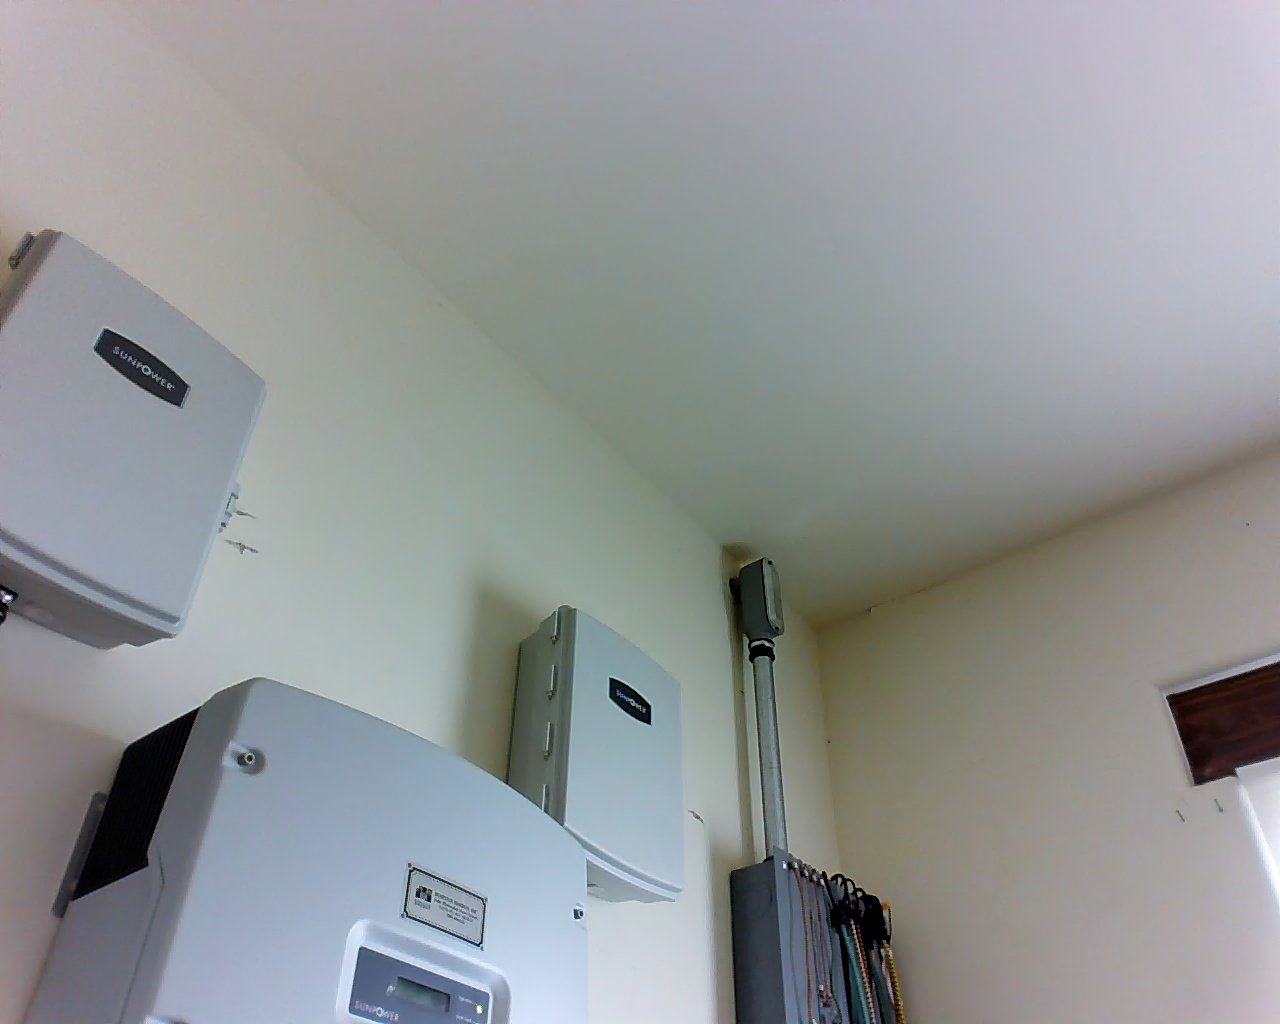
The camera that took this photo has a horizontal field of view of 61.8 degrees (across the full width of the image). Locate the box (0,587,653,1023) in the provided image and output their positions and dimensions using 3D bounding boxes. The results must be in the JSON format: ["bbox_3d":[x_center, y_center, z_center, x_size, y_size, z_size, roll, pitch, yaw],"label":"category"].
[{"bbox_3d":[-0.240,0.490,0.890,0.240,0.650,0.510,-27,-49,27],"label":"box"}]

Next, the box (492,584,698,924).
[{"bbox_3d":[-0.050,0.340,1.510,0.120,0.370,0.280,-26,-48,27],"label":"box"}]

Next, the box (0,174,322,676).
[{"bbox_3d":[-0.520,-0.090,1.070,0.120,0.390,0.310,-27,-49,27],"label":"box"}]
